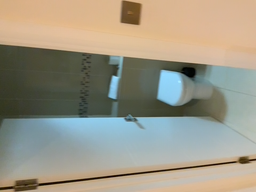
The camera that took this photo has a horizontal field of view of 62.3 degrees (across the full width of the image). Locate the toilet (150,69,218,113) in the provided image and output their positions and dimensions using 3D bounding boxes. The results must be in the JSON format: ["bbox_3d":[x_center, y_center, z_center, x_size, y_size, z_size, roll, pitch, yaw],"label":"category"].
[{"bbox_3d":[0.600,-0.070,2.370,0.500,0.490,0.380,-150,64,-65],"label":"toilet"}]
